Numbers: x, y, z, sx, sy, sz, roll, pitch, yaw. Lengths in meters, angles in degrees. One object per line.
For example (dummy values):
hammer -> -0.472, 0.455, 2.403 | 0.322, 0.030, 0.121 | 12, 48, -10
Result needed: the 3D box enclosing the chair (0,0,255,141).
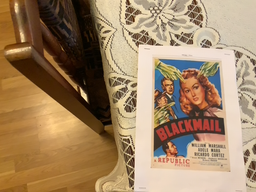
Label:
chair -> 0.010, -0.130, 0.750 | 0.470, 0.910, 0.430 | -11, 75, -6
